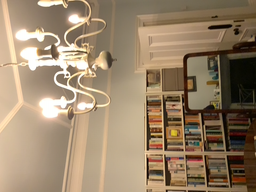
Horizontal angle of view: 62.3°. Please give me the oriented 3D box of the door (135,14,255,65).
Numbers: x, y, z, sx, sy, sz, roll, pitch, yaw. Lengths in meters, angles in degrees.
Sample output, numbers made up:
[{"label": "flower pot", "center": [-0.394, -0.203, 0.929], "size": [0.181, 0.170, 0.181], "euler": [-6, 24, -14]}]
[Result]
[{"label": "door", "center": [1.180, -0.740, 2.960], "size": [0.960, 2.080, 0.050], "euler": [70, -160, -66]}]
